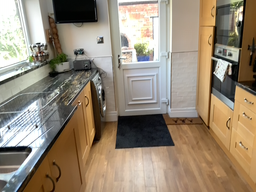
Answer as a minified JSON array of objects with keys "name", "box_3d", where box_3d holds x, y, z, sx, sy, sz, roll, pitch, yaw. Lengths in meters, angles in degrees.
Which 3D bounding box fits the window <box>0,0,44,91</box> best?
[{"name":"window","box_3d":[-1.370,-0.780,2.120,0.180,1.370,1.600,-2,18,3]}]
